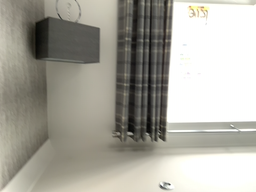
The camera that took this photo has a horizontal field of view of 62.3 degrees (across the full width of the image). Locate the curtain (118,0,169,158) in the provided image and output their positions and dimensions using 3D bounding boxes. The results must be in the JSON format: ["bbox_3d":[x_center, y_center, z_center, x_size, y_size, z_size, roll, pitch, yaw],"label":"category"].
[{"bbox_3d":[0.110,-0.270,1.760,0.370,1.510,0.250,0,-173,-7],"label":"curtain"}]
